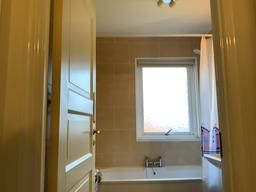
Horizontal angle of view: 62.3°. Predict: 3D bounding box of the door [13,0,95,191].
[{"bbox_3d":[-0.320,0.240,1.190,0.070,2.150,0.970,-1,-7,3],"label":"door"}]
